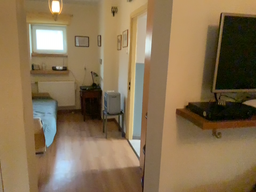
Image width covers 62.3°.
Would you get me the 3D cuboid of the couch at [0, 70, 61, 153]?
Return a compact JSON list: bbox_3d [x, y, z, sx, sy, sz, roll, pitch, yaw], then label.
[{"bbox_3d":[-1.820,0.090,3.890,1.040,0.910,2.200,-2,13,-19],"label":"couch"}]
